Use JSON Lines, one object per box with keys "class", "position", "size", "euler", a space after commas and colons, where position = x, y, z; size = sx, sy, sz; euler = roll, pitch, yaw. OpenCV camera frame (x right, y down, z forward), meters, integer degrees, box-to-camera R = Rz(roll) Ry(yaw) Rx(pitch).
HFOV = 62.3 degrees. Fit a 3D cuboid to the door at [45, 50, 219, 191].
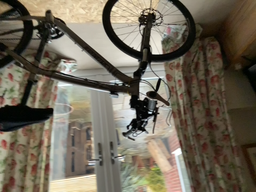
{"class": "door", "position": [0.020, 0.720, 2.080], "size": [1.580, 2.610, 0.110], "euler": [-7, 156, -6]}
